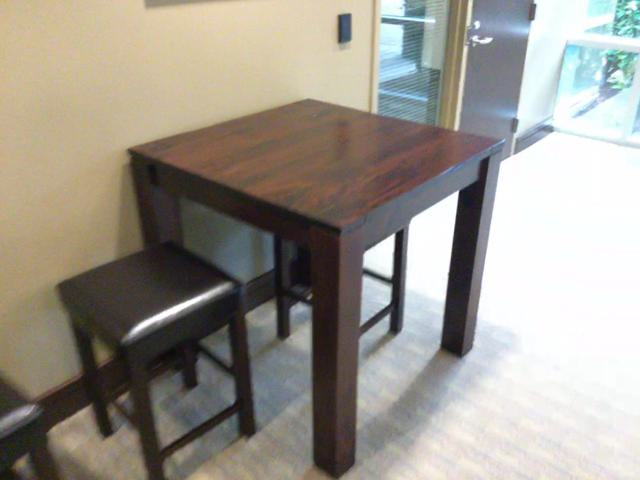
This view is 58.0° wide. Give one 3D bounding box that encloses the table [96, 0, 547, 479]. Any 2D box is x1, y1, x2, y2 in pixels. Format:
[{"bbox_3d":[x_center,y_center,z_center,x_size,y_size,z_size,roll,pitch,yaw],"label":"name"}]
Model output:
[{"bbox_3d":[0.040,-0.400,1.970,0.990,1.960,1.010,19,32,34],"label":"table"}]
